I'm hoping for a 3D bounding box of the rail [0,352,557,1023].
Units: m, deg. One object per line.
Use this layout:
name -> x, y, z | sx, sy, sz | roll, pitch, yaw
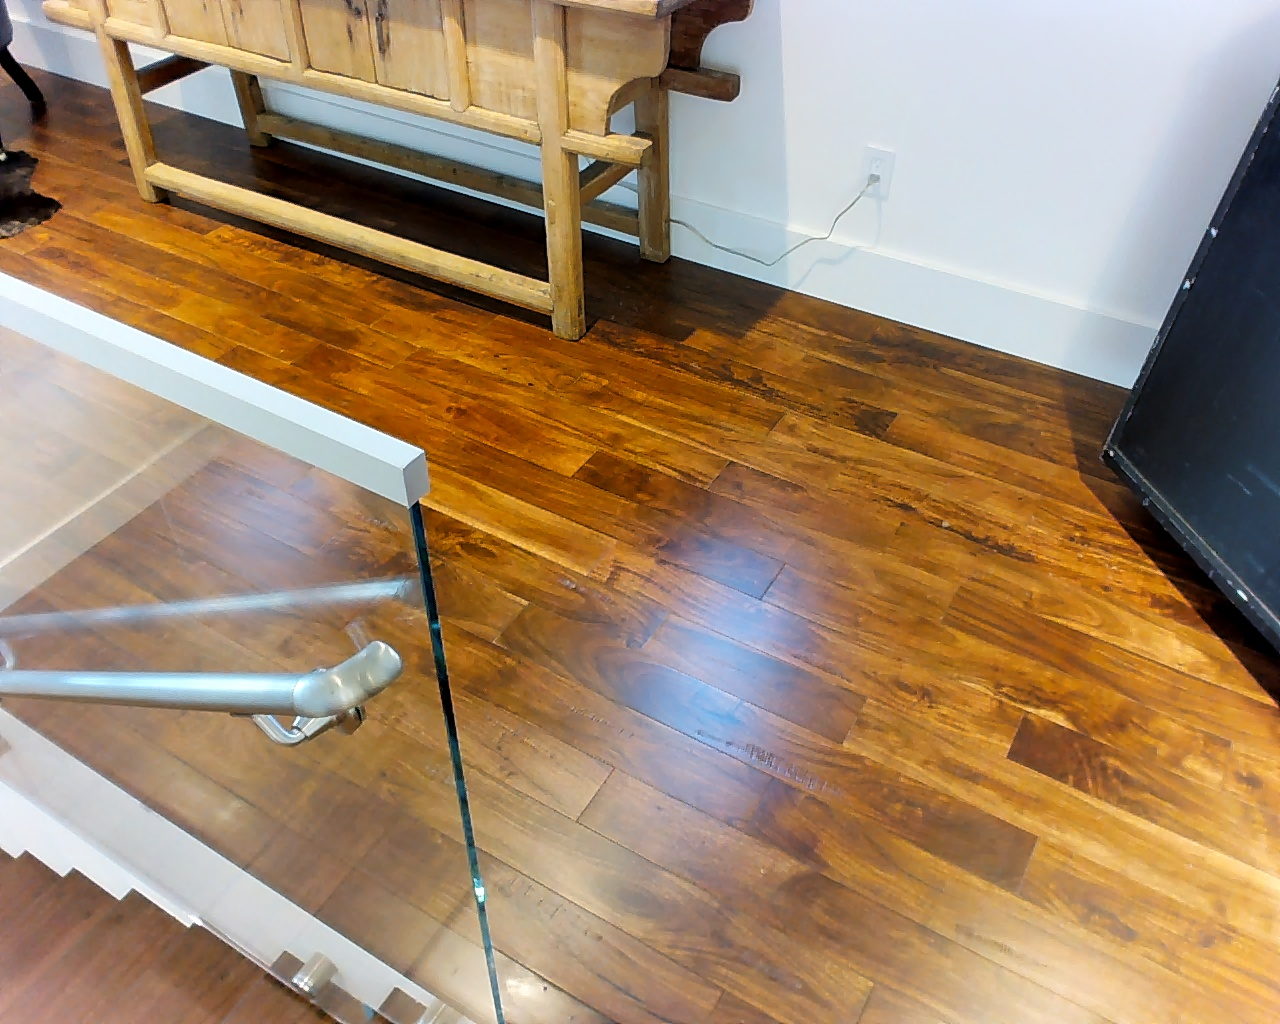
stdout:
rail -> -1.150, 0.250, 1.770 | 2.310, 1.440, 0.180 | 22, 46, 22
